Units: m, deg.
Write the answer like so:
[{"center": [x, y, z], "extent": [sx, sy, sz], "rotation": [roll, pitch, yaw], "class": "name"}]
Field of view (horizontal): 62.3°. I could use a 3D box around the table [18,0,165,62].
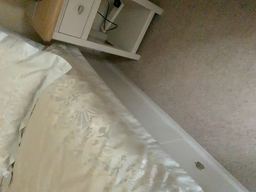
[{"center": [-0.200, -0.520, 1.250], "extent": [0.400, 0.650, 0.400], "rotation": [46, 118, 35], "class": "table"}]
